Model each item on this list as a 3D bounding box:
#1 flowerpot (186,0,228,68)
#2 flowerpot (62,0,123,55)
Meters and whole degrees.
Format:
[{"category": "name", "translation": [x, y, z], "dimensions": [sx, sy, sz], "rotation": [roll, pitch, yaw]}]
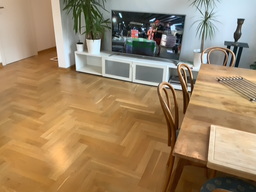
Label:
[{"category": "flowerpot", "translation": [1.210, -1.100, 3.230], "dimensions": [0.420, 1.280, 0.230], "rotation": [12, 28, 19]}, {"category": "flowerpot", "translation": [-0.590, -1.720, 3.660], "dimensions": [0.820, 1.790, 0.670], "rotation": [13, 28, 20]}]
